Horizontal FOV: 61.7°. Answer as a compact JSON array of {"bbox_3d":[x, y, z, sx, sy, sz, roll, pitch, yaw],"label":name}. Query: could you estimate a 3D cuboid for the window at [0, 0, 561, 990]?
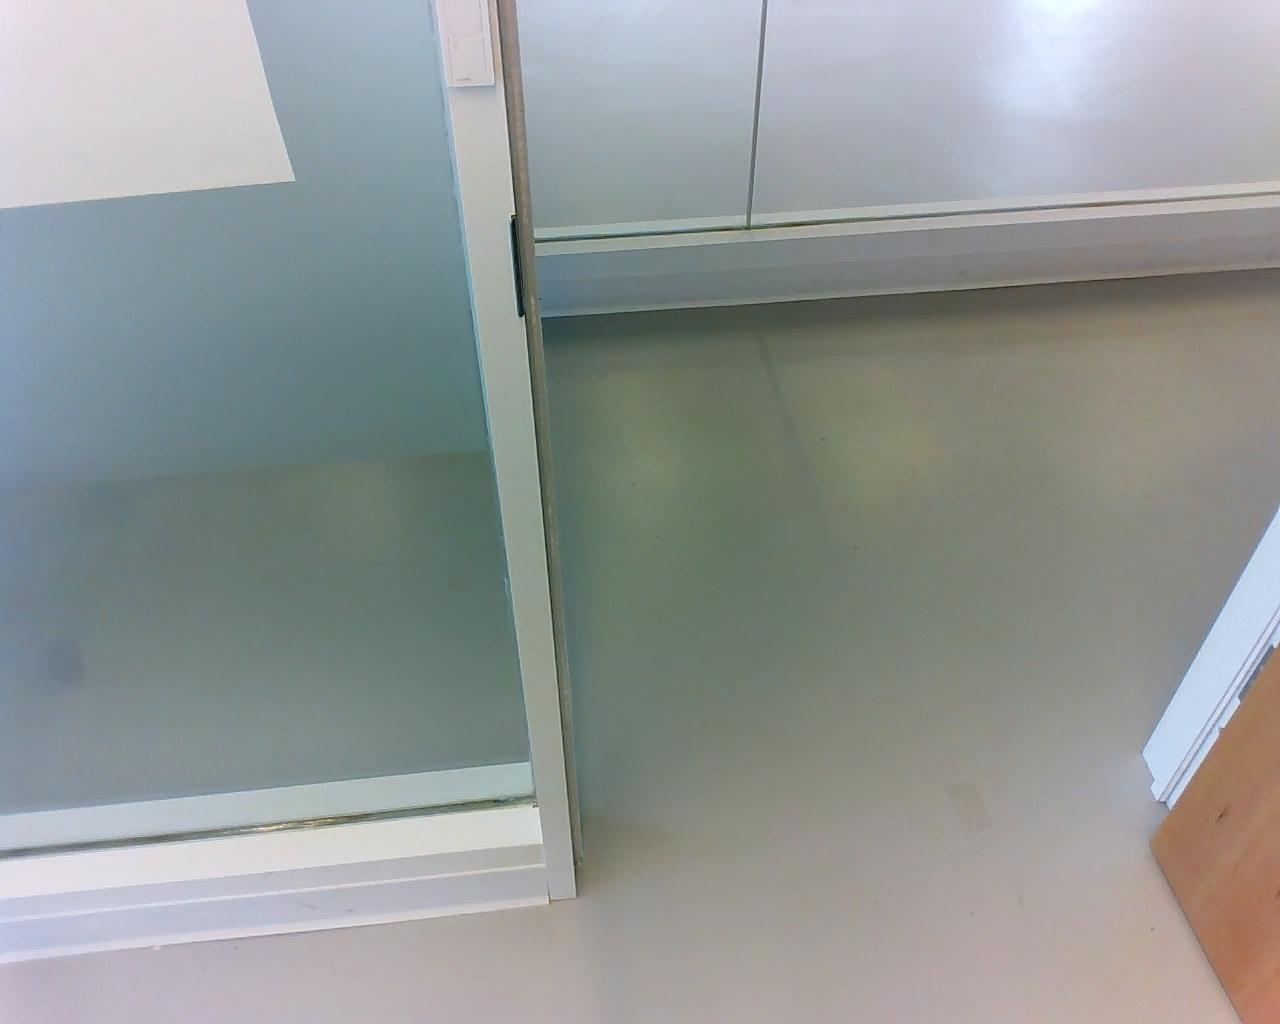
[{"bbox_3d":[-0.680,-0.240,0.730,1.110,2.260,0.140,-5,44,-5],"label":"window"}]
